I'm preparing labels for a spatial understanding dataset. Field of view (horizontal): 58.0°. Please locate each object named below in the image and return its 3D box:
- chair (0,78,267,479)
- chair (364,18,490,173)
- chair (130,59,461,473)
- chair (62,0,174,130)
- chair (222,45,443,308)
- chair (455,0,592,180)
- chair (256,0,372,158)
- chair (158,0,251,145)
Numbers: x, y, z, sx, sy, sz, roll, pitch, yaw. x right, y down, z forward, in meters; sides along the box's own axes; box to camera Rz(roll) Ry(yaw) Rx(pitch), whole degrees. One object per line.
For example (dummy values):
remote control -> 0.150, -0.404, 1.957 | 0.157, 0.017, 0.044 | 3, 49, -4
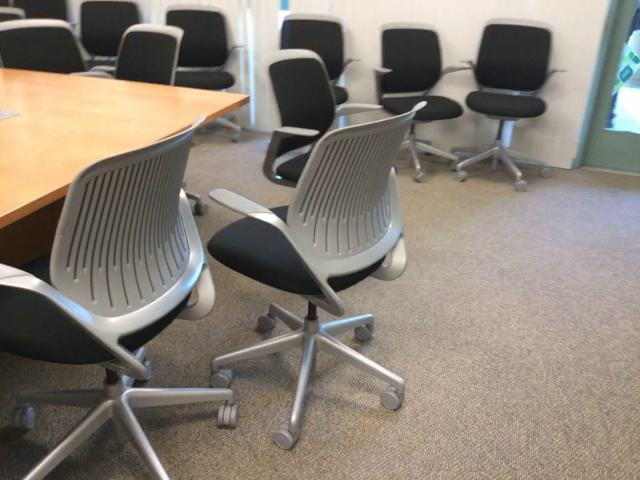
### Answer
chair -> -0.540, 0.150, 1.470 | 0.620, 0.940, 0.630 | 10, 27, 14
chair -> 0.630, -0.930, 3.660 | 0.640, 0.810, 0.610 | 4, 26, 3
chair -> -0.050, 0.010, 1.790 | 0.630, 0.950, 0.690 | 17, 30, 26
chair -> -1.440, -1.360, 4.230 | 0.640, 0.930, 0.680 | -4, 27, -14
chair -> 0.060, -0.330, 2.560 | 0.680, 0.890, 0.680 | 14, 29, 22
chair -> 1.190, -0.940, 3.490 | 0.560, 0.930, 0.620 | 10, 27, 14
chair -> -0.040, -1.100, 3.870 | 0.600, 0.890, 0.570 | 10, 27, 14
chair -> -0.810, -1.230, 4.120 | 0.570, 0.960, 0.560 | -3, 27, -11
